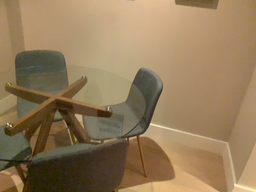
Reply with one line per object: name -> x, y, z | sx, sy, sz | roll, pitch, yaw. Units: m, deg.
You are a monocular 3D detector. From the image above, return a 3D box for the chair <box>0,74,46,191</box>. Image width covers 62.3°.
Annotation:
chair -> -0.870, 0.360, 1.310 | 0.510, 0.810, 0.470 | -16, 34, -37

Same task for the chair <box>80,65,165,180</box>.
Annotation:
chair -> -0.100, 0.200, 1.770 | 0.550, 0.810, 0.440 | -2, 28, -16

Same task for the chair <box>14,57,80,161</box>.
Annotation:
chair -> -0.690, 0.090, 1.920 | 0.440, 0.750, 0.530 | -3, 28, -18
